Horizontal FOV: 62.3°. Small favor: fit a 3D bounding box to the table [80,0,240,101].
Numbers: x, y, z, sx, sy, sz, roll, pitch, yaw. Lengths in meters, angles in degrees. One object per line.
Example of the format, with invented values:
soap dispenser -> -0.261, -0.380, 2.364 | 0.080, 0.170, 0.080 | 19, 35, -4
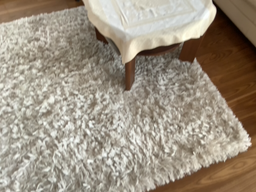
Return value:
table -> 0.110, -0.500, 1.430 | 0.720, 0.530, 0.740 | -16, 60, -10
